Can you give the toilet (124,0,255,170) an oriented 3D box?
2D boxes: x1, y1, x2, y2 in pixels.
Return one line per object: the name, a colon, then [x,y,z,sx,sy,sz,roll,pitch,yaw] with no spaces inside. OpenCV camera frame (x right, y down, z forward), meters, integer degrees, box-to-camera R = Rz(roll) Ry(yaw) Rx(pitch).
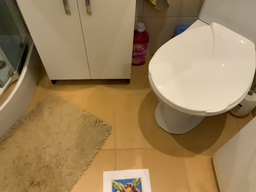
toilet: [0.350,-0.170,0.900,0.380,0.730,0.670,36,62,20]
